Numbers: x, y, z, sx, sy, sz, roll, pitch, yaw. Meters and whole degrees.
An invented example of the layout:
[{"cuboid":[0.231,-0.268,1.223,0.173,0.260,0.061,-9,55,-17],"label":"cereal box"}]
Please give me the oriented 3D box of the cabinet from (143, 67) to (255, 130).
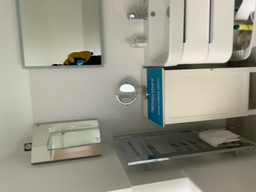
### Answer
[{"cuboid":[0.600,-0.020,1.760,0.420,0.850,0.410,-155,63,-73],"label":"cabinet"}]
